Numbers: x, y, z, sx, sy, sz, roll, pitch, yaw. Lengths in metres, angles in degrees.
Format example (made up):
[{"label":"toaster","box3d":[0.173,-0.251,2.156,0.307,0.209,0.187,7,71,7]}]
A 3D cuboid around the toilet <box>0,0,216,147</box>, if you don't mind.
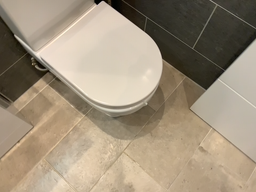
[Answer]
[{"label":"toilet","box3d":[-0.130,-0.200,0.950,0.620,0.950,0.420,39,73,12]}]
